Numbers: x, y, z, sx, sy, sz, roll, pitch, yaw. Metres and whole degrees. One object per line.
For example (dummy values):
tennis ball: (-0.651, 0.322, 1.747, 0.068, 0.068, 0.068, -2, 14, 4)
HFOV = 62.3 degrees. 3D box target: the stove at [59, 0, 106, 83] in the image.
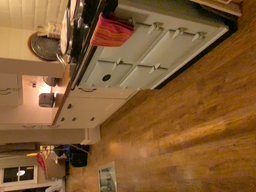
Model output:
stove: (-0.390, -0.600, 1.550, 0.980, 0.090, 0.670, 140, 129, -57)
